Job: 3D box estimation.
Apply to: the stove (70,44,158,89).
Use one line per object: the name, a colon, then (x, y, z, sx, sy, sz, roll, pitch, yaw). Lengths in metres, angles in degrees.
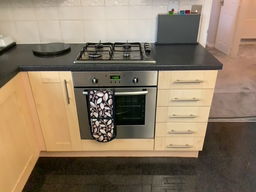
stove: (-0.100, -0.260, 1.700, 0.580, 0.140, 0.600, -2, 28, -1)
